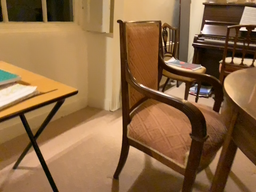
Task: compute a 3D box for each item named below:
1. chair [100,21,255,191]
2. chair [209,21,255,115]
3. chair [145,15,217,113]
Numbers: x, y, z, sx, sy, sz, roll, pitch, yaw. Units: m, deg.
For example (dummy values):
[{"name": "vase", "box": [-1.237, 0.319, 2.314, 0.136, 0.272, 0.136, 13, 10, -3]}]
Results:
[{"name": "chair", "box": [0.270, 0.080, 1.210, 0.580, 0.910, 0.590, 17, 25, 29]}, {"name": "chair", "box": [1.280, -0.340, 2.380, 0.420, 0.920, 0.470, 18, 26, 30]}, {"name": "chair", "box": [0.560, -0.370, 2.320, 0.500, 0.920, 0.420, 18, 25, 30]}]
